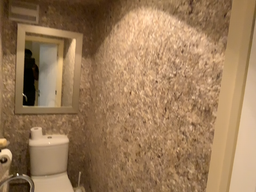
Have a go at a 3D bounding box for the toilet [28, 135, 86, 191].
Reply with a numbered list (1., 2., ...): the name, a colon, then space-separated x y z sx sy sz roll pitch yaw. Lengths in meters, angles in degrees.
1. toilet: -0.740 0.880 2.090 0.410 0.780 0.700 1 8 -28
